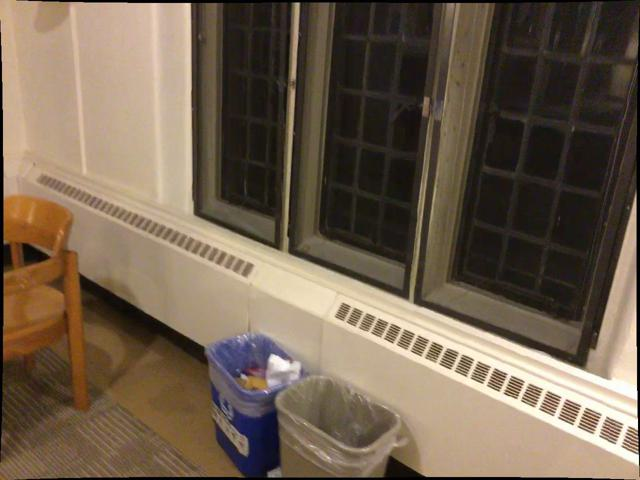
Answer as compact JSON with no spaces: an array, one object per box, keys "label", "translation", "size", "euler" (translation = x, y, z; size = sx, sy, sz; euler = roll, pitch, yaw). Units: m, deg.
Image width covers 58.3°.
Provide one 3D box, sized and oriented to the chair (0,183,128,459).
[{"label":"chair","translation":[-1.239,0.260,2.170],"size":[0.680,0.741,0.660],"euler":[14,22,27]}]
